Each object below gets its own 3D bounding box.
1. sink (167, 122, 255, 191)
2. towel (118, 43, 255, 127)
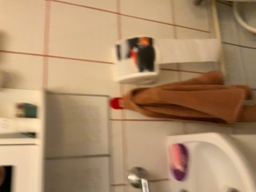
[{"bbox_3d":[0.280,0.310,0.630,0.310,0.140,0.430,149,121,-64],"label":"sink"},{"bbox_3d":[0.280,-0.010,0.790,0.160,0.610,0.230,146,124,-63],"label":"towel"}]
